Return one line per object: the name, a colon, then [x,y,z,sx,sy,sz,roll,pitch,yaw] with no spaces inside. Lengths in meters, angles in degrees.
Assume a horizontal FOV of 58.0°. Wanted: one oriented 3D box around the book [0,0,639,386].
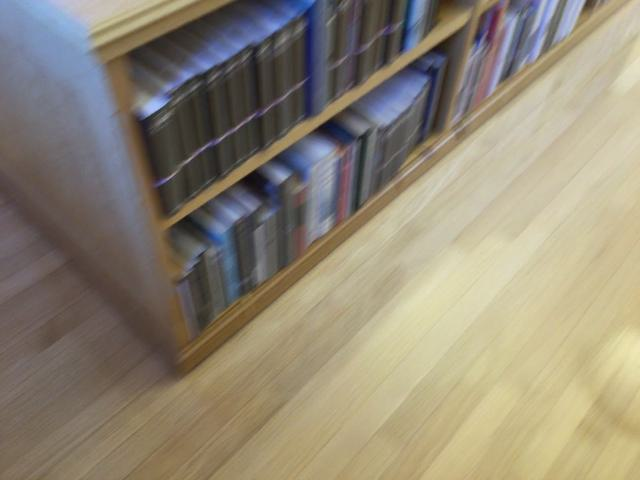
book: [0.530,-0.770,1.580,0.370,0.720,2.630,37,61,25]
